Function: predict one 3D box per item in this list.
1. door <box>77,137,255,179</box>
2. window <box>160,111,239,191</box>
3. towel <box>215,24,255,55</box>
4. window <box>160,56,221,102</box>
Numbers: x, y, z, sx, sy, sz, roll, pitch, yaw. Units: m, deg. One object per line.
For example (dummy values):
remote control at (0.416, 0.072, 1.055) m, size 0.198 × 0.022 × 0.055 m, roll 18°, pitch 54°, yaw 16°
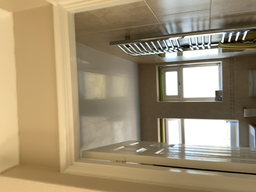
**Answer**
door at (0.790, 0.350, 1.190) m, size 0.780 × 1.990 × 0.090 m, roll 23°, pitch -112°, yaw -69°
window at (1.190, 0.900, 3.630) m, size 0.320 × 1.210 × 1.240 m, roll -4°, pitch -87°, yaw -70°
towel at (0.960, -0.430, 1.620) m, size 0.300 × 0.530 × 0.140 m, roll 3°, pitch -94°, yaw -70°
window at (1.030, -0.270, 3.570) m, size 0.150 × 0.960 × 0.720 m, roll -5°, pitch -85°, yaw -70°
